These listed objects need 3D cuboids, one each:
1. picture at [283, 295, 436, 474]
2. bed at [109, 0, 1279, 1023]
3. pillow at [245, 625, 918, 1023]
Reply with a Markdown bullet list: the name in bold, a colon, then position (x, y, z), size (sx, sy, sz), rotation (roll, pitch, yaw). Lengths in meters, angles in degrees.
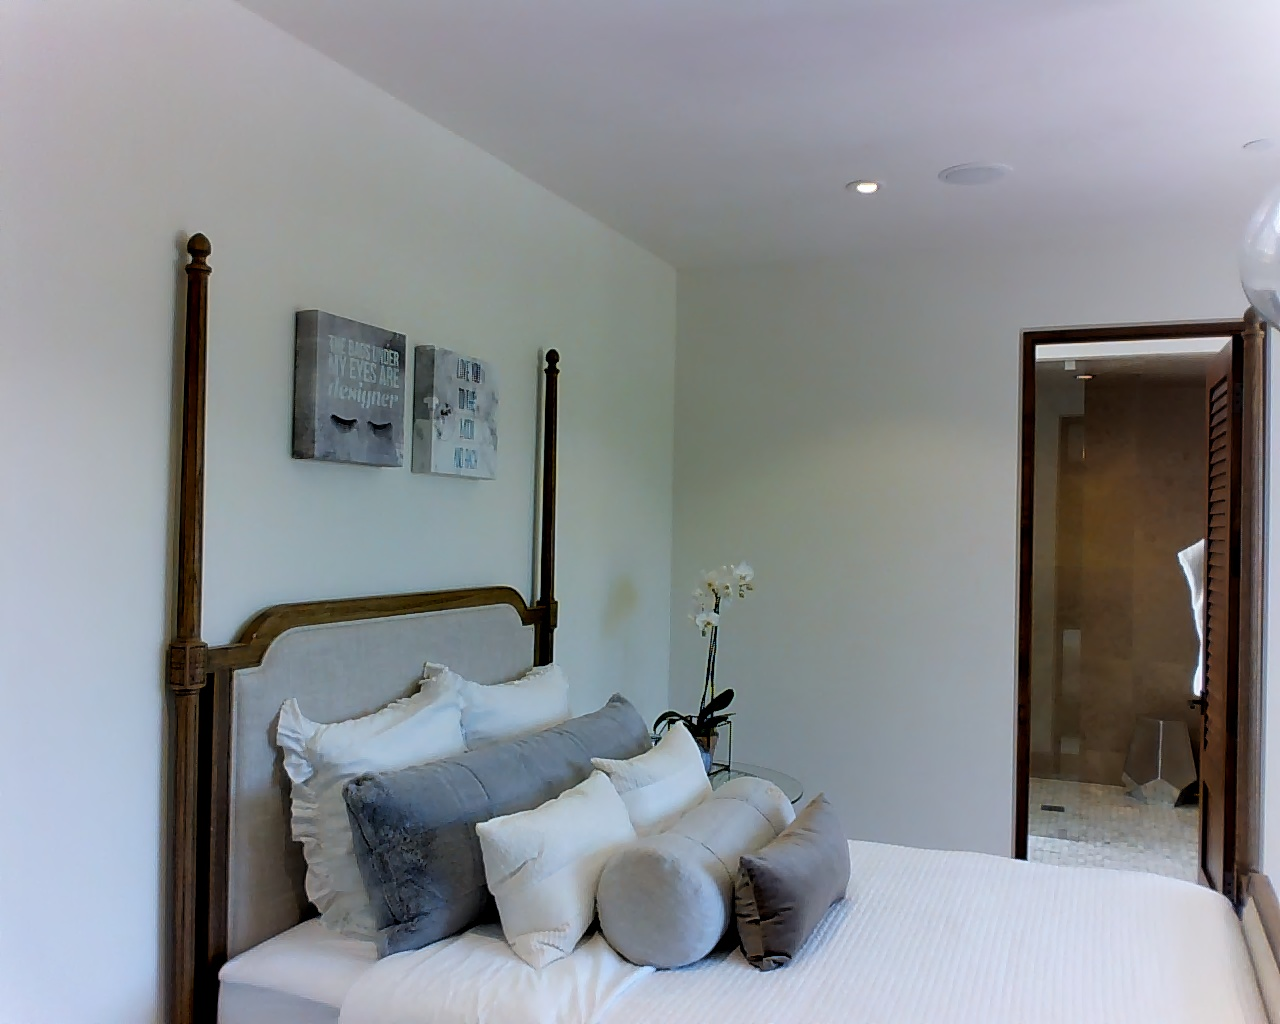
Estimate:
- **picture**: position (-0.710, -0.310, 2.770), size (0.110, 0.400, 0.460), rotation (1, -1, 24)
- **bed**: position (0.360, 0.480, 2.540), size (2.260, 2.250, 1.850), rotation (1, -1, 23)
- **pillow**: position (-0.030, 0.660, 2.760), size (1.230, 0.560, 1.370), rotation (1, -1, 23)
